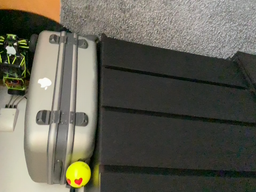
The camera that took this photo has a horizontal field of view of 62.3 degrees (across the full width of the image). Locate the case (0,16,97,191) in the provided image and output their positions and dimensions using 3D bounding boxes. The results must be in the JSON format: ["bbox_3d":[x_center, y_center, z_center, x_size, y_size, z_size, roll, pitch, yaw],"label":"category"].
[{"bbox_3d":[-0.340,0.050,1.020,0.310,0.740,0.460,5,140,-12],"label":"case"}]
